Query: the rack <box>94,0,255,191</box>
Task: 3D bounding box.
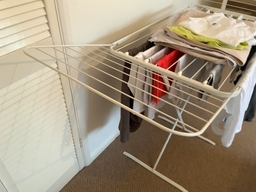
[{"bbox_3d":[0.440,-0.010,1.360,0.740,0.940,1.010,25,44,27],"label":"rack"}]
